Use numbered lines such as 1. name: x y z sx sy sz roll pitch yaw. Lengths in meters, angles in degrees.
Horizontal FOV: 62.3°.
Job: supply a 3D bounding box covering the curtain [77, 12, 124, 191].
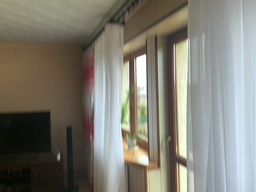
1. curtain: -0.560 0.410 3.500 0.240 2.730 2.270 -2 2 -19
